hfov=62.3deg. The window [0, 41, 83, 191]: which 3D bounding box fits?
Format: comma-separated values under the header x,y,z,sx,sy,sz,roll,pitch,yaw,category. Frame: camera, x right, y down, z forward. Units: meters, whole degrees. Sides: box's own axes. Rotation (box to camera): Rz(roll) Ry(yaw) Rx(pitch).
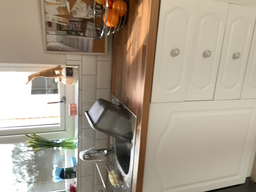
x,y,z,sx,sy,sz,roll,pitch,yaw,category
-1.030,0.310,1.490,0.330,1.340,1.370,-149,60,-66,window
